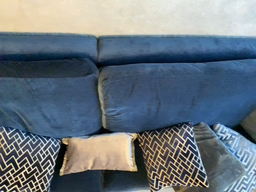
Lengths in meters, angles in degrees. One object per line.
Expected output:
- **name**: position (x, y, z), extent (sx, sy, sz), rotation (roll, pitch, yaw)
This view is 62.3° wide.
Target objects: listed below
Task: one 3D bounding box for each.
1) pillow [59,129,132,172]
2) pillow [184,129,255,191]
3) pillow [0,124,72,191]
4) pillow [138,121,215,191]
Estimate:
- **pillow**: position (-0.220, 0.380, 1.480), extent (0.460, 0.220, 0.200), rotation (0, 147, -8)
- **pillow**: position (0.760, 0.450, 1.490), extent (0.500, 0.510, 0.150), rotation (2, 116, -24)
- **pillow**: position (-0.630, 0.420, 1.350), extent (0.460, 0.310, 0.200), rotation (29, 103, -32)
- **pillow**: position (0.300, 0.400, 1.380), extent (0.350, 0.360, 0.150), rotation (-24, 130, -1)
